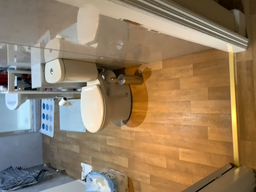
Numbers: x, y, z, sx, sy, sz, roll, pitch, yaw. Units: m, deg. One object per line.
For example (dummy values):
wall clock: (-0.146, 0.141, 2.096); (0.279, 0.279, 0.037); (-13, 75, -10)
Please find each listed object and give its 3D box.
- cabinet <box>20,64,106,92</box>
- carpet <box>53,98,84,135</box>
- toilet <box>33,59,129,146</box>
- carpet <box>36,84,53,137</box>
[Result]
cabinet: (-0.650, -0.170, 2.280); (0.240, 0.870, 0.240); (-2, 89, 45)
carpet: (-0.910, 0.310, 3.170); (0.810, 0.030, 0.500); (-6, 87, 45)
toilet: (-0.420, 0.050, 2.070); (0.360, 0.840, 0.680); (-2, 89, 45)
carpet: (-1.510, 0.270, 3.800); (0.550, 0.030, 0.900); (-7, 86, 45)
